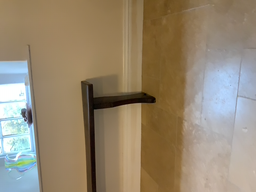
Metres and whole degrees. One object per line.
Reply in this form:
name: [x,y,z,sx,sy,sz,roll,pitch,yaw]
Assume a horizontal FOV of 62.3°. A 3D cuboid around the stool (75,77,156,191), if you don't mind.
stool: [-0.100,0.550,1.660,0.250,0.520,1.350,-153,61,-63]
